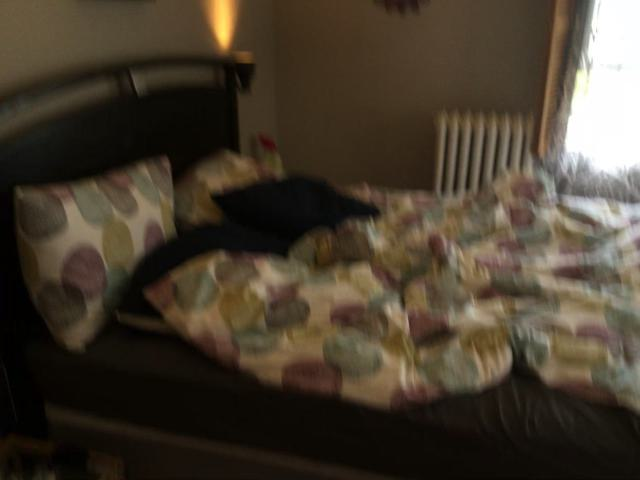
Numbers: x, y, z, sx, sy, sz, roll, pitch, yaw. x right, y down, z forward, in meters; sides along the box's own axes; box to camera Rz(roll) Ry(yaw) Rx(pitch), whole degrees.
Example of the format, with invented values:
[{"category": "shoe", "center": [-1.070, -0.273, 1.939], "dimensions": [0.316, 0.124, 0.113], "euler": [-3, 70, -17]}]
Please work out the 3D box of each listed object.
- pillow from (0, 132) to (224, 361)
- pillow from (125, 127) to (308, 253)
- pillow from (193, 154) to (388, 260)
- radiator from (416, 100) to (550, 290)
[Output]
[{"category": "pillow", "center": [-0.580, -0.040, 1.730], "dimensions": [0.230, 0.410, 0.790], "euler": [2, 22, 15]}, {"category": "pillow", "center": [-0.360, -0.240, 2.330], "dimensions": [0.400, 0.280, 0.800], "euler": [2, 22, 15]}, {"category": "pillow", "center": [-0.070, -0.160, 2.250], "dimensions": [0.570, 0.200, 0.670], "euler": [2, 22, 15]}, {"category": "radiator", "center": [0.860, -0.250, 3.150], "dimensions": [0.630, 0.950, 0.340], "euler": [2, 22, 15]}]
